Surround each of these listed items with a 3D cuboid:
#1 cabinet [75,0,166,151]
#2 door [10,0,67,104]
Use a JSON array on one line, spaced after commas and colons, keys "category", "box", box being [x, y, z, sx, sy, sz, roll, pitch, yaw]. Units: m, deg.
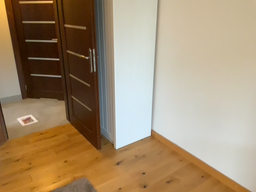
[{"category": "cabinet", "box": [-0.140, -0.480, 2.560, 0.590, 1.930, 0.950, -13, 25, -31]}, {"category": "door", "box": [-1.450, -0.890, 3.460, 0.740, 2.120, 0.100, 5, 22, 10]}]
